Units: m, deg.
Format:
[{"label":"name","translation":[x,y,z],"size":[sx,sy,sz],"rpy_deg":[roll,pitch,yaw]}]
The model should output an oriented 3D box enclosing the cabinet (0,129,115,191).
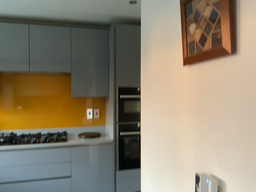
[{"label":"cabinet","translation":[-1.240,0.980,2.650],"size":[2.070,0.910,0.640],"rpy_deg":[-1,1,-16]}]
